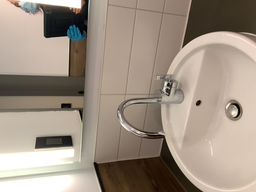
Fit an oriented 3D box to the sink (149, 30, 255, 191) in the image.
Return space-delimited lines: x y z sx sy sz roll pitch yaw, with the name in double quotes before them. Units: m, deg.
"sink" 0.290 0.060 0.650 0.480 0.200 0.450 -133 46 -61
